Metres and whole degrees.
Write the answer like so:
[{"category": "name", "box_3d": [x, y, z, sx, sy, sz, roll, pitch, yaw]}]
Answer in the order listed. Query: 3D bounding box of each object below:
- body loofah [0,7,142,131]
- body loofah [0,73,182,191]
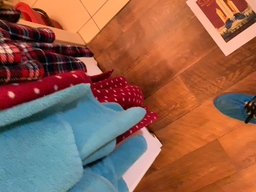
[{"category": "body loofah", "box_3d": [-0.350, -0.080, 0.320, 0.350, 1.200, 0.150, 27, 106, 17]}, {"category": "body loofah", "box_3d": [-0.170, 0.170, 0.250, 0.180, 1.080, 0.320, -29, 86, 23]}]
